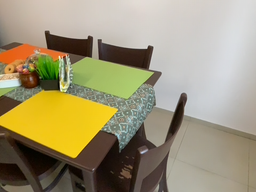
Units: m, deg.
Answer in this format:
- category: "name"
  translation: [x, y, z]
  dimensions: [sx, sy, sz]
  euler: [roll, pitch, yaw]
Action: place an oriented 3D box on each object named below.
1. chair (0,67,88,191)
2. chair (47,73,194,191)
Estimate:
- category: "chair"
  translation: [-0.520, 0.320, 1.090]
  dimensions: [0.420, 0.760, 0.480]
  euler: [8, 34, 9]
- category: "chair"
  translation: [-0.020, 0.360, 1.040]
  dimensions: [0.440, 0.770, 0.380]
  euler: [19, 37, 24]
